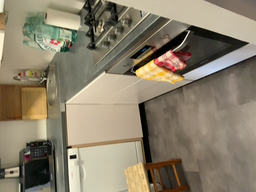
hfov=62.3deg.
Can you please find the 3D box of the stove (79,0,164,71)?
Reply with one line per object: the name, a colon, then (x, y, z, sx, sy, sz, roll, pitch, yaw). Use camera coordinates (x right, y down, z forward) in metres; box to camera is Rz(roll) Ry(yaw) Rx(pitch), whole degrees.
stove: (-0.100, -0.520, 1.080, 0.640, 0.050, 0.590, -25, 68, 53)
